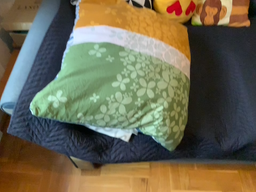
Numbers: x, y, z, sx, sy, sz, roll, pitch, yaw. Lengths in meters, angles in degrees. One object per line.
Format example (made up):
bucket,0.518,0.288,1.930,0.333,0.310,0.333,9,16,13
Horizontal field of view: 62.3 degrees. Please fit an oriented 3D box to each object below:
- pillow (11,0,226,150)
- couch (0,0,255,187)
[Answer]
pillow,-0.010,-0.170,0.910,0.610,0.300,0.680,3,57,2
couch,0.610,-0.120,1.190,2.210,0.890,1.010,1,57,0
